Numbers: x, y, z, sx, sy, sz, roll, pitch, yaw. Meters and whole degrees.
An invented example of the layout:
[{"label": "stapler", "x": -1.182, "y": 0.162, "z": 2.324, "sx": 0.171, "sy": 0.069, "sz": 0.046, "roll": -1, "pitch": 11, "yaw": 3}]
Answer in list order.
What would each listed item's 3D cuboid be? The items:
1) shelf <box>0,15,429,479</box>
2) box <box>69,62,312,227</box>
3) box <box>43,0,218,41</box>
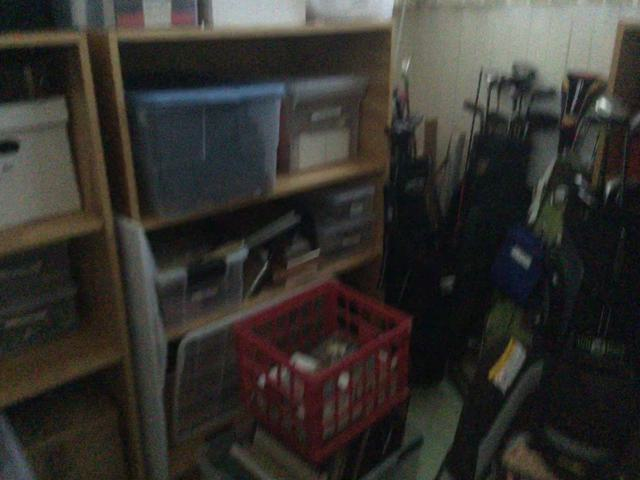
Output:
[{"label": "shelf", "x": -0.270, "y": 0.000, "z": 1.850, "sx": 1.020, "sy": 1.320, "sz": 0.660, "roll": -19, "pitch": 28, "yaw": -38}, {"label": "box", "x": -0.330, "y": -0.290, "z": 1.570, "sx": 0.520, "sy": 0.320, "sz": 0.330, "roll": -19, "pitch": 28, "yaw": -38}, {"label": "box", "x": -0.440, "y": -0.610, "z": 1.330, "sx": 0.340, "sy": 0.270, "sz": 0.180, "roll": -19, "pitch": 28, "yaw": -38}]
